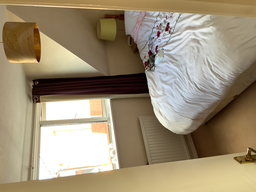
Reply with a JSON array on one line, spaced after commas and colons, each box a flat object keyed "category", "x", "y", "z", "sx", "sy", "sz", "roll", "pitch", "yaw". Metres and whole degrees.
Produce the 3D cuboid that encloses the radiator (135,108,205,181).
[{"category": "radiator", "x": 0.550, "y": 0.640, "z": 2.970, "sx": 0.180, "sy": 0.720, "sz": 0.930, "roll": 110, "pitch": 154, "yaw": -55}]
